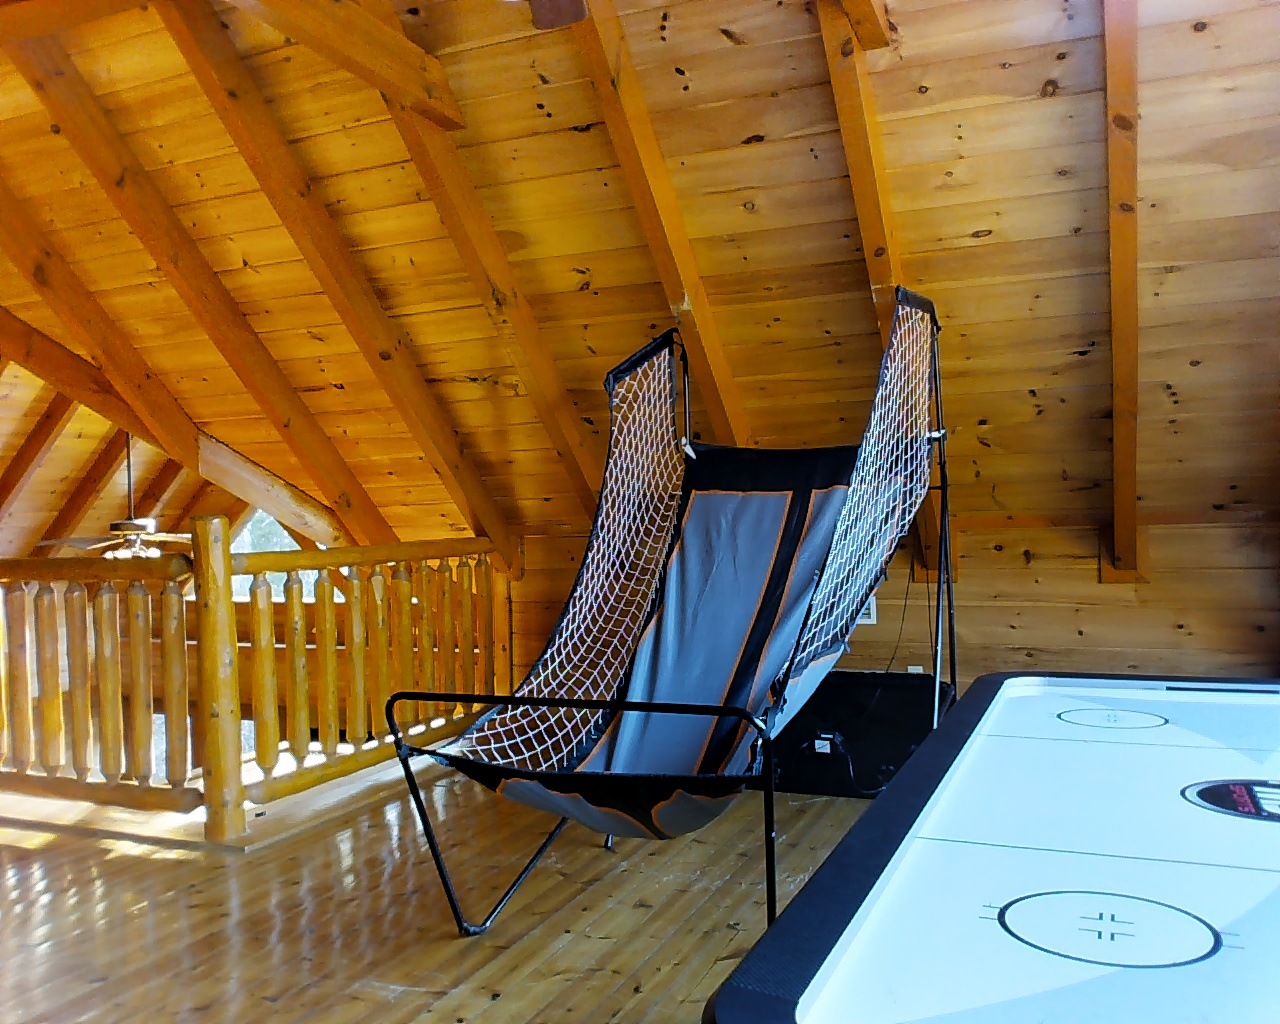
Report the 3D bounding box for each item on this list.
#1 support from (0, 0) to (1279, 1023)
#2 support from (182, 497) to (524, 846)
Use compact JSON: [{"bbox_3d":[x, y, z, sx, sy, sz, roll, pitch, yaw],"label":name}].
[{"bbox_3d":[1.070,-0.910,1.700,1.320,4.181,6.490,-2,0,23],"label":"support"},{"bbox_3d":[-1.170,0.570,4.970,0.160,1.270,2.200,-2,0,23],"label":"support"}]
